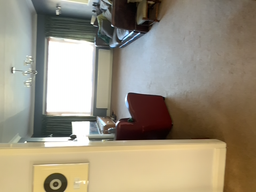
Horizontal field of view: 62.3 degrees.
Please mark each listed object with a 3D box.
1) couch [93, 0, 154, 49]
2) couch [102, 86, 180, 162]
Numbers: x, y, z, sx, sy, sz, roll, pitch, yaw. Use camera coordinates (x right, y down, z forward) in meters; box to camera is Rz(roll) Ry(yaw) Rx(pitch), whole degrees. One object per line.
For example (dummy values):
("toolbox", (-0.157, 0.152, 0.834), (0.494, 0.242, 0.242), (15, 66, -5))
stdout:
("couch", (-0.210, -1.770, 4.720), (2.100, 0.780, 1.060), (-168, 82, -73))
("couch", (0.120, 0.420, 3.180), (0.780, 0.840, 0.760), (-104, 24, -43))
